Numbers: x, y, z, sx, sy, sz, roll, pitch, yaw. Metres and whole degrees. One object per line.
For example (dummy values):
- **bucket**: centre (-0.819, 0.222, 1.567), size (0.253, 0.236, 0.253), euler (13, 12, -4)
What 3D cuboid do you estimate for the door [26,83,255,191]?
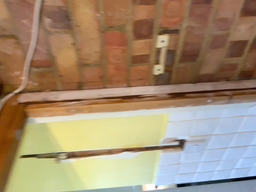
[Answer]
- **door**: centre (0.650, 0.220, 1.050), size (0.730, 1.980, 0.080), euler (92, 173, -47)
